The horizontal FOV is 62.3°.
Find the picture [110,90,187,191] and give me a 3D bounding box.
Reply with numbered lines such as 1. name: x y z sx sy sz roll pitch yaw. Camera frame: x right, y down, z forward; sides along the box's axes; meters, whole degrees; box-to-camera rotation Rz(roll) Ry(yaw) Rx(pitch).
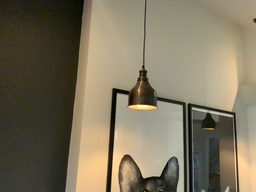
1. picture: 0.180 0.490 1.580 0.640 1.000 0.050 8 -13 -28
